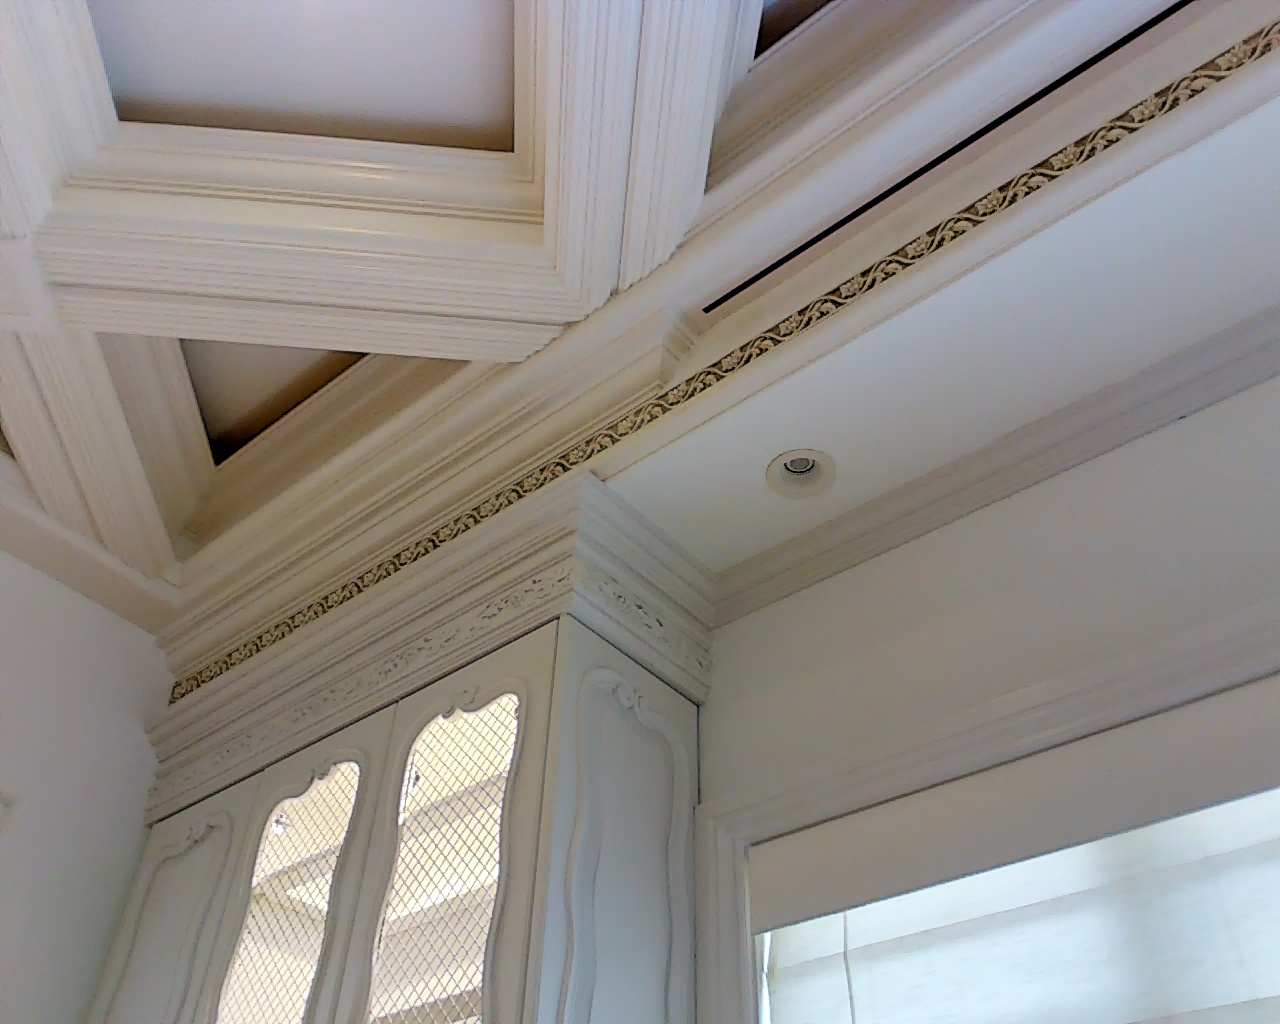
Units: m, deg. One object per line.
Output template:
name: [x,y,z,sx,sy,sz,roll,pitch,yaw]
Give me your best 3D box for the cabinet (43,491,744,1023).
cabinet: [-0.540,1.010,1.890,1.430,1.660,0.500,-30,-52,30]
